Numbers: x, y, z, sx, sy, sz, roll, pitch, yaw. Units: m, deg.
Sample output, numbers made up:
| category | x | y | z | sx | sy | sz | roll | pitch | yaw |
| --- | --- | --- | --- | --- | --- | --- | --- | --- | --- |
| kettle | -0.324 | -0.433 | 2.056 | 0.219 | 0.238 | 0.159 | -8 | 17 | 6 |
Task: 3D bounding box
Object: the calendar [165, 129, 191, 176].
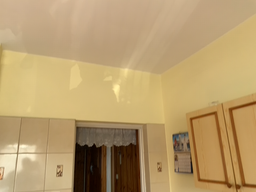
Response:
| category | x | y | z | sx | sy | sz | roll | pitch | yaw |
| --- | --- | --- | --- | --- | --- | --- | --- | --- | --- |
| calendar | 0.550 | 0.630 | 2.370 | 0.050 | 0.470 | 0.310 | 7 | -18 | -26 |
